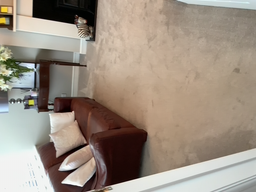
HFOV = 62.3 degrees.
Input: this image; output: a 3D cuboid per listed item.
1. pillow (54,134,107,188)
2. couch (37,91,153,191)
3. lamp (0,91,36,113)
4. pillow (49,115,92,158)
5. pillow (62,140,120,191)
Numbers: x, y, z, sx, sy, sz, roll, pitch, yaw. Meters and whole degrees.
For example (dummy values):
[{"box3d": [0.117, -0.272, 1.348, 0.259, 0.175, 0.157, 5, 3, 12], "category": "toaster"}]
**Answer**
[{"box3d": [-0.510, 0.670, 2.260, 0.330, 0.400, 0.280, 19, 129, 58], "category": "pillow"}, {"box3d": [-0.560, 0.640, 2.610, 1.590, 0.800, 1.090, 23, 111, 56], "category": "couch"}, {"box3d": [-1.820, 0.080, 3.390, 0.350, 0.580, 0.260, 21, 109, 56], "category": "lamp"}, {"box3d": [-0.750, 0.510, 2.750, 0.390, 0.380, 0.270, 26, 136, 54], "category": "pillow"}, {"box3d": [-0.350, 0.690, 2.030, 0.250, 0.410, 0.260, 20, 141, 57], "category": "pillow"}]
